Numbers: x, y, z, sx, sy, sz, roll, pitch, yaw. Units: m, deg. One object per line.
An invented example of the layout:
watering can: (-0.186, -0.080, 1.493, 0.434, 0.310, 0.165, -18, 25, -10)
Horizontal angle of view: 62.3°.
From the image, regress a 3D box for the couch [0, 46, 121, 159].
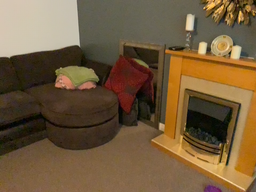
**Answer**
couch: (-1.250, -0.030, 2.560, 2.240, 0.860, 0.990, -18, 28, -41)

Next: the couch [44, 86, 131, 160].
couch: (-0.430, 0.250, 2.420, 0.790, 0.460, 0.510, -19, 28, -41)
